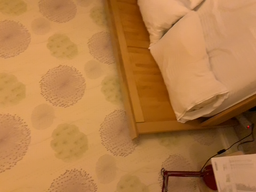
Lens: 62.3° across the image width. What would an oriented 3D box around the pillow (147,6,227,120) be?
[{"bbox_3d":[0.340,-0.210,1.400,0.380,0.130,0.630,128,135,-54],"label":"pillow"}]
